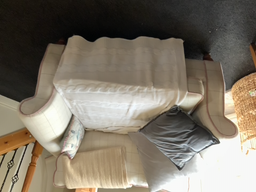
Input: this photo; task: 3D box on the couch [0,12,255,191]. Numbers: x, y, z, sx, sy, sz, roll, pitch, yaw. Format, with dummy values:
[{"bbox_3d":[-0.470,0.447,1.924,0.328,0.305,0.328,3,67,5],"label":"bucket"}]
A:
[{"bbox_3d":[0.010,0.170,1.640,1.350,0.900,1.110,5,148,1],"label":"couch"}]
